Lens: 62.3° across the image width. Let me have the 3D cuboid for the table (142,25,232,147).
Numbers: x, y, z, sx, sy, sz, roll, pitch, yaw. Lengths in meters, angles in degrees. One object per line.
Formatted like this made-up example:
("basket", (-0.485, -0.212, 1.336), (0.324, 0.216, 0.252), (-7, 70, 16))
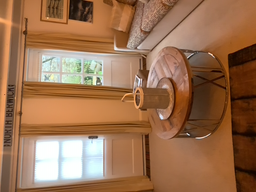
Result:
("table", (0.560, -0.040, 2.400), (1.070, 0.440, 1.060), (162, 110, -71))
